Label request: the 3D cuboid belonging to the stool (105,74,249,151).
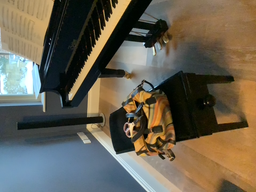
[{"bbox_3d":[0.250,0.160,1.480,0.850,0.490,0.330,-29,65,57],"label":"stool"}]
